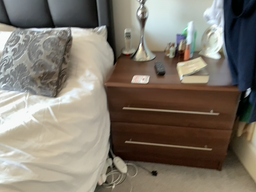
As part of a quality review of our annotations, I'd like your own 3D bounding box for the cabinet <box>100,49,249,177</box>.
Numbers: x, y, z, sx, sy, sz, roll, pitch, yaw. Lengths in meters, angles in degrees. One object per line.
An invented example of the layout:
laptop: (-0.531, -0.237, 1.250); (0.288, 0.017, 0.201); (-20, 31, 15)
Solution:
cabinet: (0.270, 0.070, 1.470); (0.730, 0.600, 0.610); (3, 31, 9)
